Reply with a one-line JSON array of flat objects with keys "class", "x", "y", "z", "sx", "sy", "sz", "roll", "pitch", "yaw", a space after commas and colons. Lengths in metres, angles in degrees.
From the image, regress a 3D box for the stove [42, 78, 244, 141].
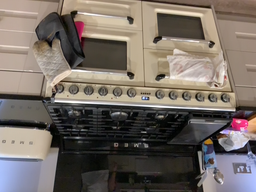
[{"class": "stove", "x": 0.070, "y": 0.140, "z": 1.460, "sx": 1.110, "sy": 0.160, "sz": 0.630, "roll": 3, "pitch": 154, "yaw": -8}]
